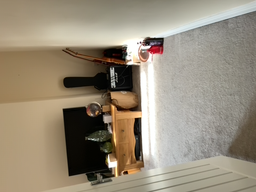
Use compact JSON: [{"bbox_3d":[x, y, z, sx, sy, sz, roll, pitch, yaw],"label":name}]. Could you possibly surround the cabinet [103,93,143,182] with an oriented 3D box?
[{"bbox_3d":[-0.090,0.600,3.340,0.570,0.420,1.230,-163,68,-70],"label":"cabinet"}]
